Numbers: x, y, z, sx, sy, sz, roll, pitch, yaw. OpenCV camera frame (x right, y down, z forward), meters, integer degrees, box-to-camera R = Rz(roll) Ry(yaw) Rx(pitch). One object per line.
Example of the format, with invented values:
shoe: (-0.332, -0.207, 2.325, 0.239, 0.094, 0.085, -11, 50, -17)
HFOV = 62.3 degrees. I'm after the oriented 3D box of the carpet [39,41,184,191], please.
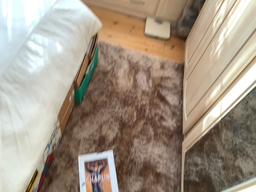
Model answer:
carpet: (-0.010, 0.190, 1.490, 0.740, 0.100, 1.390, 15, 54, -1)
